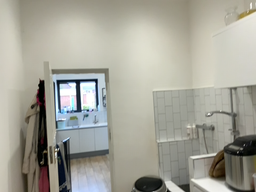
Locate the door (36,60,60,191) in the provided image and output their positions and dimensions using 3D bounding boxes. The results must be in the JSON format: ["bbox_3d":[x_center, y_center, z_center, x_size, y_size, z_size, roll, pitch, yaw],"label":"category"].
[{"bbox_3d":[-0.750,0.720,2.100,0.050,2.000,0.840,-3,-1,-14],"label":"door"}]
